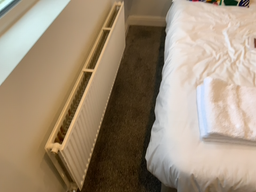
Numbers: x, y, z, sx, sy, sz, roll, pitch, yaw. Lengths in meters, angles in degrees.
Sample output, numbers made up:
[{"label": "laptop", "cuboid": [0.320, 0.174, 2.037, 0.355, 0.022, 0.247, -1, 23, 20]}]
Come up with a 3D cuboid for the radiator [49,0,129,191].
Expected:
[{"label": "radiator", "cuboid": [-0.150, -0.200, 1.600, 0.080, 0.560, 1.670, 5, 47, 7]}]
